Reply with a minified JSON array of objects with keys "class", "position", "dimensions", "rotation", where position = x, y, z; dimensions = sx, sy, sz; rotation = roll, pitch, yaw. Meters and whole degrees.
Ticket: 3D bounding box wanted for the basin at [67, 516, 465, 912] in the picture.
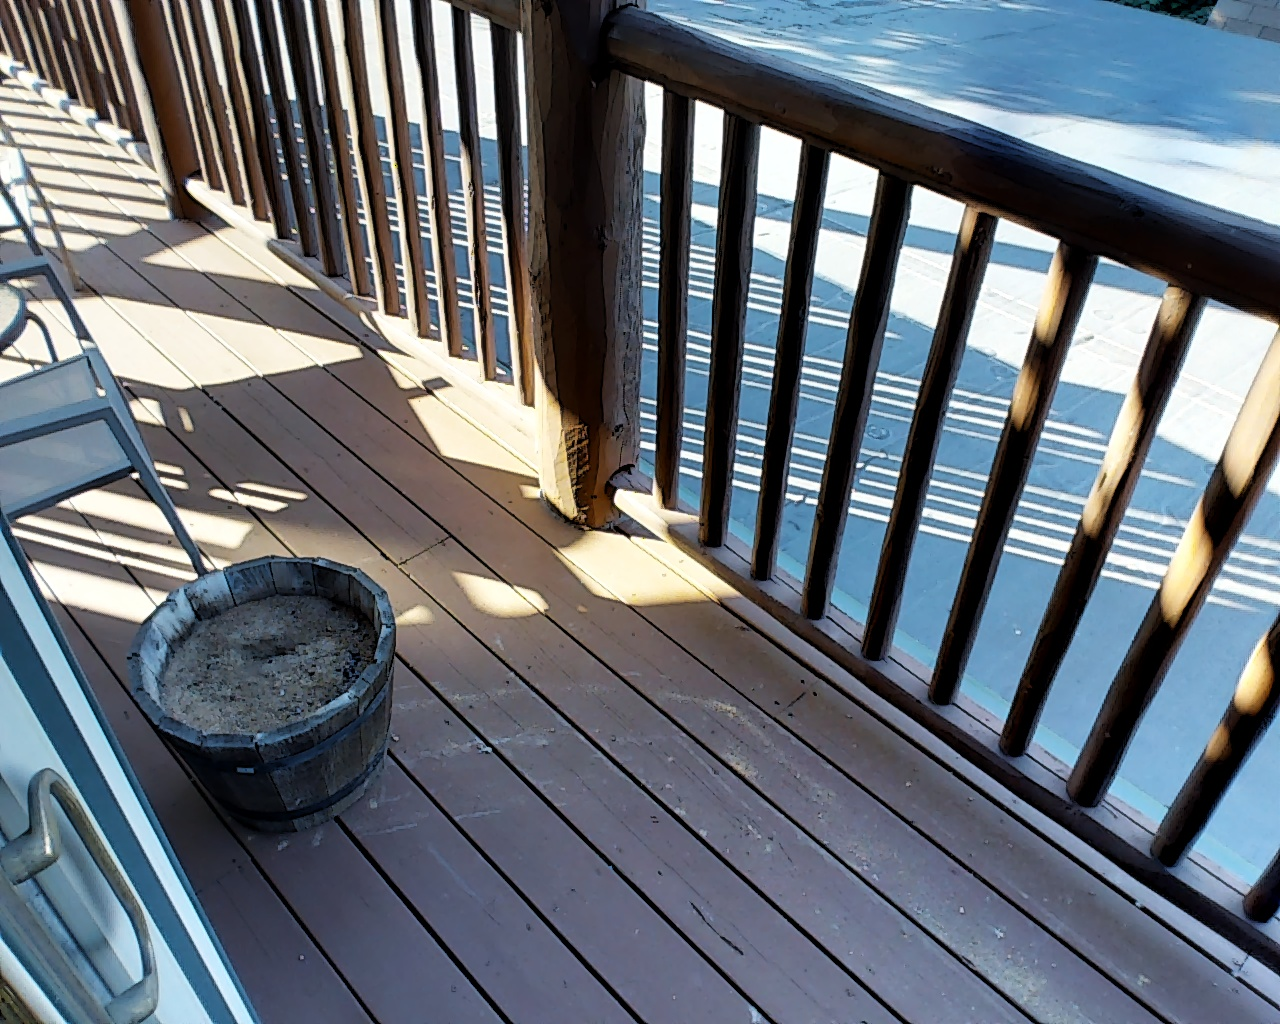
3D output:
[{"class":"basin","position":[-0.600,0.310,1.780],"dimensions":[0.450,0.300,0.390],"rotation":[-28,48,-32]}]
